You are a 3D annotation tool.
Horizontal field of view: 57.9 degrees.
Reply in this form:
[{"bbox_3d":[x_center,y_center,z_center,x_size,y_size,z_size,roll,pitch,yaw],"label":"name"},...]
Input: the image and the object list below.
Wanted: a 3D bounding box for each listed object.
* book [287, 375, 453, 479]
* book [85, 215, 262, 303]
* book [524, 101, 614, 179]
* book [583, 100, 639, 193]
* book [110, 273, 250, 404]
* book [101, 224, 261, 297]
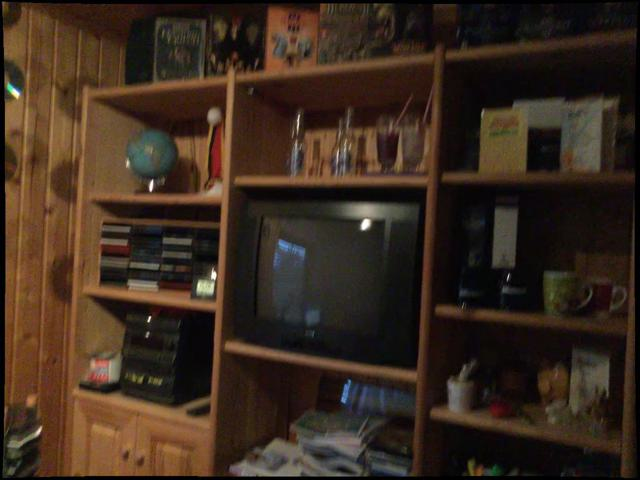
[{"bbox_3d":[0.170,0.631,1.790,0.360,0.230,0.450,5,7,27],"label":"book"},{"bbox_3d":[-0.529,0.050,2.120,0.500,0.230,0.380,5,7,27],"label":"book"},{"bbox_3d":[0.679,-0.260,1.560,0.190,0.180,0.320,5,7,27],"label":"book"},{"bbox_3d":[0.749,-0.220,1.390,0.190,0.210,0.150,5,7,27],"label":"book"},{"bbox_3d":[-0.509,0.340,2.160,0.290,0.350,0.440,5,7,27],"label":"book"},{"bbox_3d":[-0.499,0.060,2.090,0.490,0.180,0.290,5,7,27],"label":"book"}]
